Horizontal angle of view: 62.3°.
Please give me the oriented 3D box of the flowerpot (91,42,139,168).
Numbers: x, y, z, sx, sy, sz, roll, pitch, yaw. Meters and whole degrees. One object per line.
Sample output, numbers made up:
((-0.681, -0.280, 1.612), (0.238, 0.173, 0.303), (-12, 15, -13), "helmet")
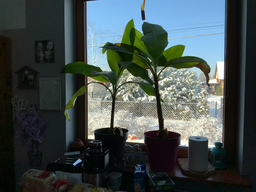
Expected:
((-0.110, 0.070, 1.870), (0.360, 1.020, 0.240), (1, 3, 17), "flowerpot")

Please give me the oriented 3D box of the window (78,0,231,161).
((0.180, -0.290, 1.980), (1.360, 1.610, 0.180), (1, 3, 17), "window")

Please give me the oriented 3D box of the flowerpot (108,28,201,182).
((0.220, 0.060, 1.740), (0.690, 1.080, 0.320), (1, 3, 18), "flowerpot")
